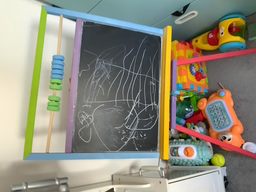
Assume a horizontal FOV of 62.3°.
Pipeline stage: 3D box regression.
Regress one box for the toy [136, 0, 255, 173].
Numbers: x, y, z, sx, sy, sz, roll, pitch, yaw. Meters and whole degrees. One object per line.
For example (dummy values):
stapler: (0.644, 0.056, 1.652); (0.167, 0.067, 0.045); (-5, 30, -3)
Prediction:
toy: (0.320, -0.010, 1.080); (0.490, 0.250, 0.700); (-15, 72, 45)
